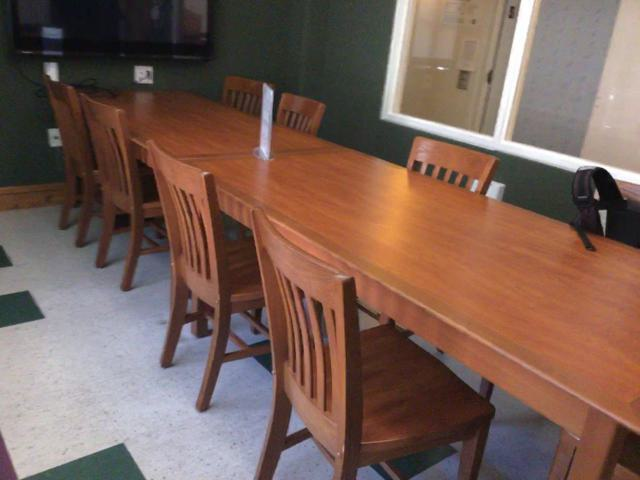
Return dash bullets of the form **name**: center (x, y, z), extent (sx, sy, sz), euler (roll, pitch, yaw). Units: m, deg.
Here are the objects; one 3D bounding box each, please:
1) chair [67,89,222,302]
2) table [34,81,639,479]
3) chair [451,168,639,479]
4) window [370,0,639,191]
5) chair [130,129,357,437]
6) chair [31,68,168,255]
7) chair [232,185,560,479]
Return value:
- **chair**: center (-0.840, -0.250, 2.830), extent (0.510, 0.880, 0.500), euler (-16, 28, -43)
- **table**: center (-0.240, -0.040, 2.560), extent (1.070, 0.900, 3.580), euler (-11, 25, -35)
- **chair**: center (0.890, 0.280, 1.900), extent (0.640, 0.890, 0.480), euler (-12, 25, -36)
- **window**: center (1.040, -1.140, 3.060), extent (0.280, 1.330, 1.860), euler (-11, 25, -35)
- **chair**: center (-0.290, 0.100, 2.090), extent (0.570, 0.880, 0.530), euler (-11, 25, -35)
- **chair**: center (-1.210, -0.460, 3.220), extent (0.530, 0.880, 0.490), euler (-13, 31, -39)
- **chair**: center (0.130, 0.370, 1.500), extent (0.560, 0.880, 0.520), euler (-7, 23, -27)
